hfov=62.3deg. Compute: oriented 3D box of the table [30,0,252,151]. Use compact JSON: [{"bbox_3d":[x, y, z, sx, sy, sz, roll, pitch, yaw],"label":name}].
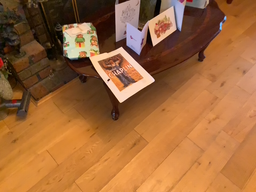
[{"bbox_3d":[0.110,-0.350,1.490,1.150,0.440,0.790,-36,62,-24],"label":"table"}]
